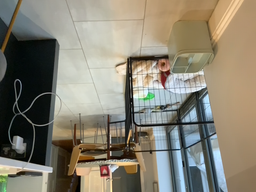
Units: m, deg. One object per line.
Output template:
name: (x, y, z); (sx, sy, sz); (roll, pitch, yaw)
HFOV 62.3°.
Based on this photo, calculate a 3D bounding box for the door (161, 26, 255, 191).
door: (0.920, 1.130, 2.660); (0.270, 2.340, 3.160); (-3, 159, -2)
